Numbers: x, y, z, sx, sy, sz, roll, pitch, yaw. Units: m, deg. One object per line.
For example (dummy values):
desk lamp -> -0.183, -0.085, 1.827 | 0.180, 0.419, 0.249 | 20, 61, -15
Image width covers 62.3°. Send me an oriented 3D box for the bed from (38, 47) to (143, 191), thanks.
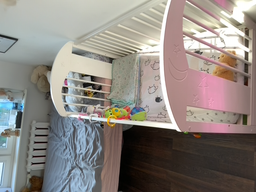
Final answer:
bed -> -0.570, 0.670, 2.670 | 1.430, 0.500, 2.230 | -2, 82, 51
